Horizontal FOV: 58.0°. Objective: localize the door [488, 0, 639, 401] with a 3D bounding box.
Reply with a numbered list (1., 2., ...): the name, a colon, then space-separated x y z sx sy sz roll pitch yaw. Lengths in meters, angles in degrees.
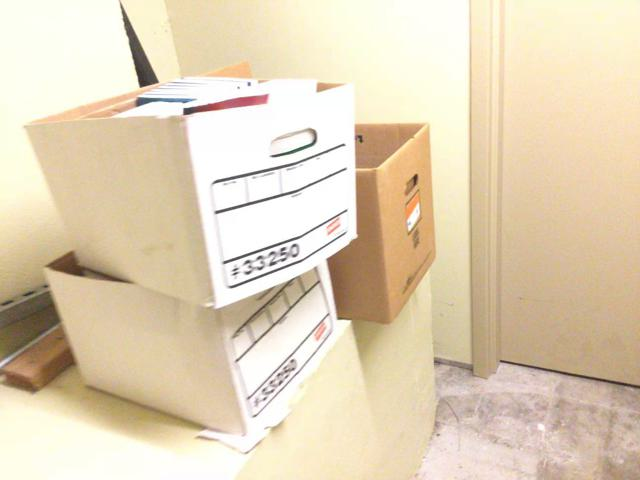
1. door: 0.890 -0.180 1.500 0.840 1.440 0.090 4 27 29
